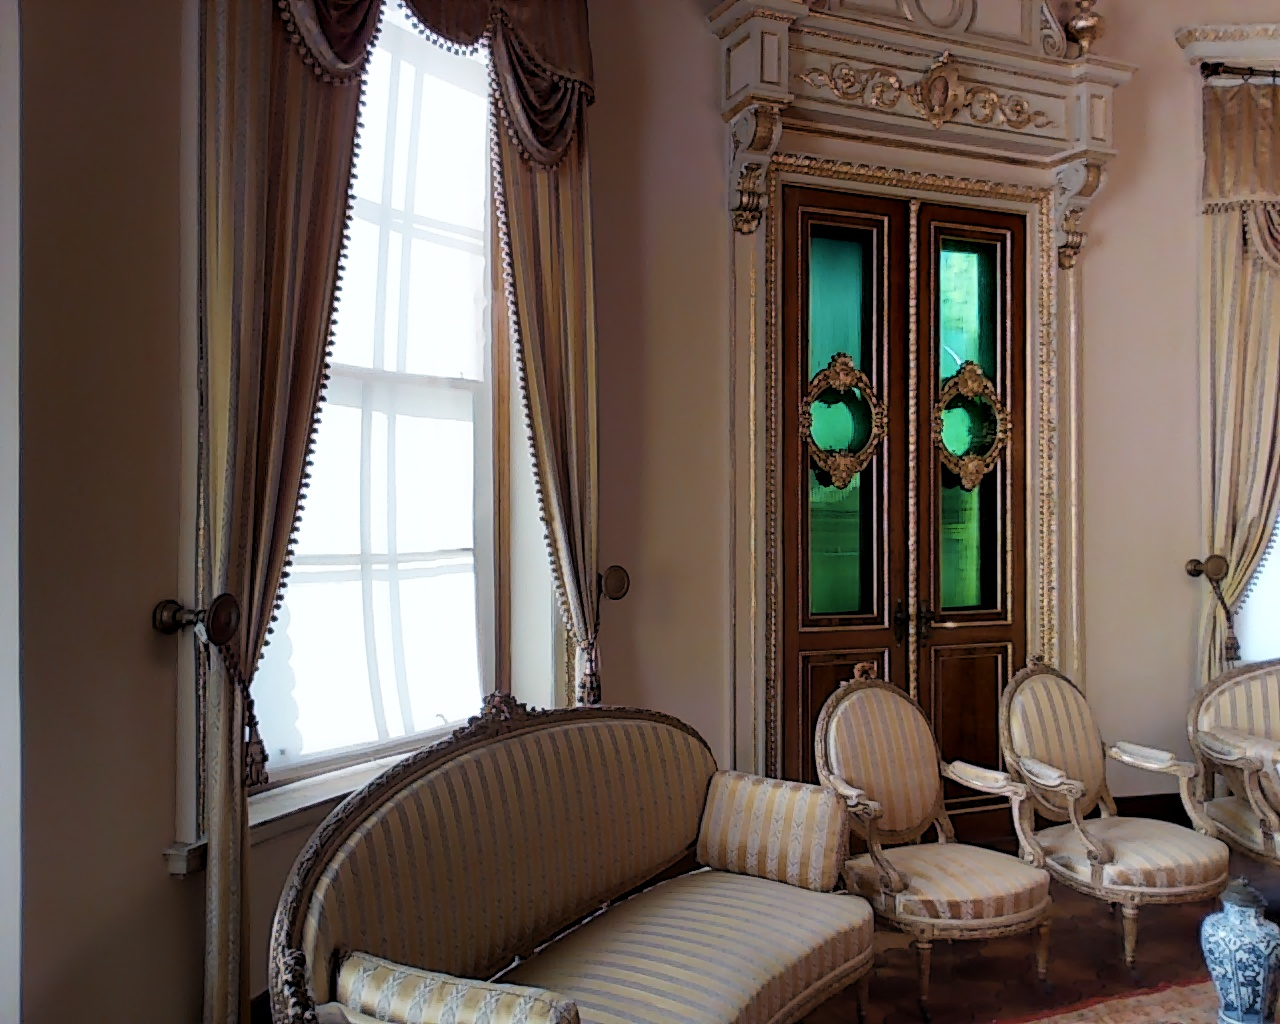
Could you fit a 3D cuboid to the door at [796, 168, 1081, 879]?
[{"bbox_3d":[1.529,0.050,5.420,1.559,3.351,0.160,0,-1,-21],"label":"door"}]
